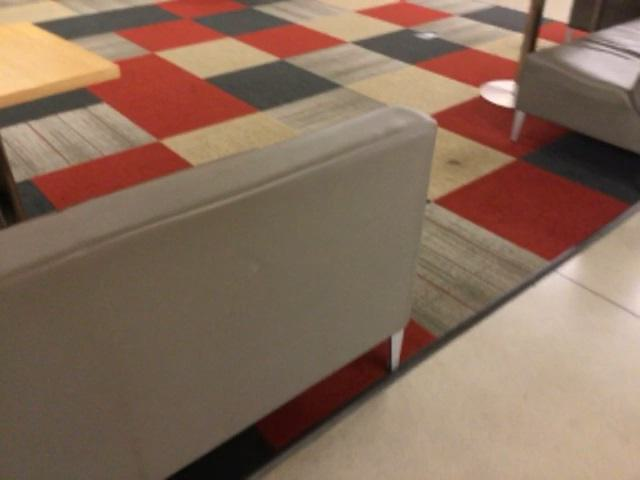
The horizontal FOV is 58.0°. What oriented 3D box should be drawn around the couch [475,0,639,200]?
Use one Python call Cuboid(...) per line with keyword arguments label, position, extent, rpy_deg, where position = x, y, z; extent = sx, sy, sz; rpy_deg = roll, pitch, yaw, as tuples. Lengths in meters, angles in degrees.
Cuboid(label="couch", position=(1.230, -0.720, 2.470), extent=(0.510, 0.720, 0.850), rpy_deg=(-26, 44, -32))
